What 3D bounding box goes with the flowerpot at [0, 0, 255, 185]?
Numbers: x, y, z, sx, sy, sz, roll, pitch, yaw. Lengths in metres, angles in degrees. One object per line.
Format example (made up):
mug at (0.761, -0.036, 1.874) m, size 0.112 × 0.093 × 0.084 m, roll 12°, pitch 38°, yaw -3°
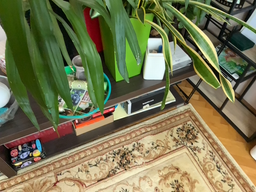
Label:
flowerpot at (-0.040, -0.300, 0.970) m, size 1.000 × 1.240 × 0.620 m, roll -22°, pitch 56°, yaw -19°
